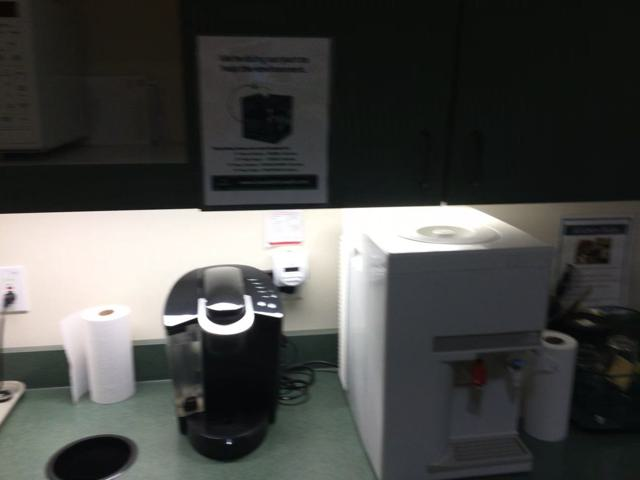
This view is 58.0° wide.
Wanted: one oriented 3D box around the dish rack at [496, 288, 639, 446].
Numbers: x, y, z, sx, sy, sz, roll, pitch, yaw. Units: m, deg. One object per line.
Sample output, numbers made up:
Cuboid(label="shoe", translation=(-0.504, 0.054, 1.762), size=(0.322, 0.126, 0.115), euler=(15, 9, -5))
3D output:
Cuboid(label="dish rack", translation=(0.730, 0.270, 1.350), size=(0.480, 0.190, 0.390), euler=(0, 16, -6))

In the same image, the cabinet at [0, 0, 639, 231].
Cuboid(label="cabinet", translation=(0.200, -0.400, 1.110), size=(2.640, 0.680, 0.400), euler=(0, 16, -6))

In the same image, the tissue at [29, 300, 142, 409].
Cuboid(label="tissue", translation=(-0.530, 0.260, 1.330), size=(0.200, 0.210, 0.120), euler=(0, 16, -6))
